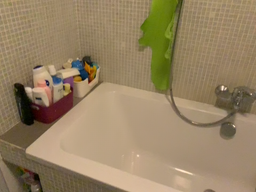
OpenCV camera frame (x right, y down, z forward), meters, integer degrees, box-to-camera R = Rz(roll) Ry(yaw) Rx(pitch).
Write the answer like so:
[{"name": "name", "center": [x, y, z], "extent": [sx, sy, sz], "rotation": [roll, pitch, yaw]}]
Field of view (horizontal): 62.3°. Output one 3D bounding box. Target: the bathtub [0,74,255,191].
[{"name": "bathtub", "center": [0.350, 0.470, 1.100], "extent": [1.860, 0.600, 0.740], "rotation": [13, 32, 18]}]
